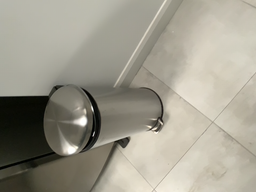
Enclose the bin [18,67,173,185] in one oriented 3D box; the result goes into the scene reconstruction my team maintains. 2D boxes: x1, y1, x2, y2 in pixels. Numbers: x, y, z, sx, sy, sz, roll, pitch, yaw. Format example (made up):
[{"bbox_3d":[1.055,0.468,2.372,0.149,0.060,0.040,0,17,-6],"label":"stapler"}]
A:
[{"bbox_3d":[-0.110,0.110,1.120,0.320,0.700,0.330,45,114,23],"label":"bin"}]
